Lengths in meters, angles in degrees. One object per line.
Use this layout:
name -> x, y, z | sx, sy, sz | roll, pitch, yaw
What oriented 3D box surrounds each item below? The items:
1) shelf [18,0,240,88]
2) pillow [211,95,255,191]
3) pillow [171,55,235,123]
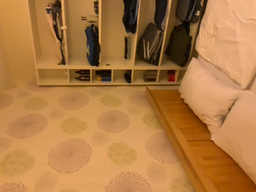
shelf -> 0.050, -0.620, 2.200 | 0.270, 2.030, 1.020 | -111, 23, -58
pillow -> 0.730, 0.290, 1.200 | 0.580, 0.140, 0.360 | -112, 24, -59
pillow -> 0.590, -0.090, 1.800 | 0.580, 0.190, 0.360 | -113, 24, -60
